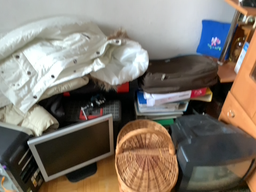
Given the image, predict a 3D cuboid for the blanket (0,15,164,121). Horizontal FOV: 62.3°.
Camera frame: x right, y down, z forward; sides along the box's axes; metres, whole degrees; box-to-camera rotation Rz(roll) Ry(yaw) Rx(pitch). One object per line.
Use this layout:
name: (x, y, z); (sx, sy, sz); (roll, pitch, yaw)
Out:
blanket: (-0.350, -0.160, 1.090); (0.950, 0.360, 0.400); (-3, 42, -6)

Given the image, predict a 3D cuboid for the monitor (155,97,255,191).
monitor: (0.390, 0.270, 1.120); (0.380, 0.350, 0.360); (-4, 42, -7)

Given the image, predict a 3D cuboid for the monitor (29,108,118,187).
monitor: (-0.240, 0.270, 1.080); (0.400, 0.380, 0.030); (-18, 45, -22)

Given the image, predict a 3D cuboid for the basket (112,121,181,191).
basket: (0.060, 0.360, 1.080); (0.270, 0.260, 0.370); (-2, 41, -5)
